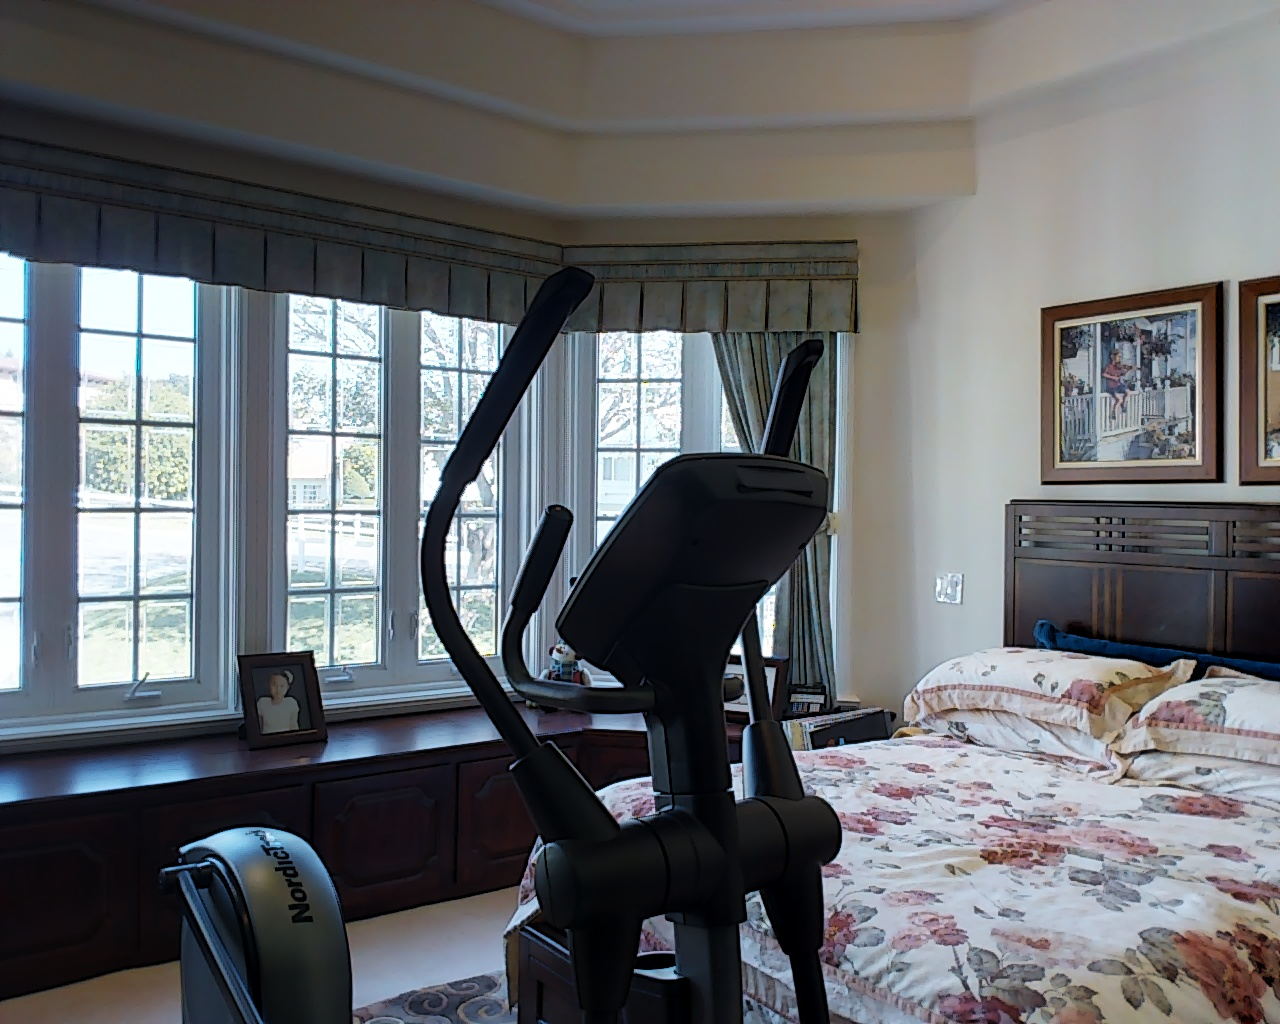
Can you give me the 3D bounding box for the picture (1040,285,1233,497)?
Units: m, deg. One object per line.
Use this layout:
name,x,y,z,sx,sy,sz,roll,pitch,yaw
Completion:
picture,1.720,-0.400,3.760,0.040,0.690,0.660,1,0,-37

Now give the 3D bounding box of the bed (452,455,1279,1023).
bed,0.910,0.670,2.770,2.100,1.490,1.880,1,0,-37

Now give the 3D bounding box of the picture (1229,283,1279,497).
picture,2.150,-0.380,3.190,0.030,0.670,0.730,1,0,-37
